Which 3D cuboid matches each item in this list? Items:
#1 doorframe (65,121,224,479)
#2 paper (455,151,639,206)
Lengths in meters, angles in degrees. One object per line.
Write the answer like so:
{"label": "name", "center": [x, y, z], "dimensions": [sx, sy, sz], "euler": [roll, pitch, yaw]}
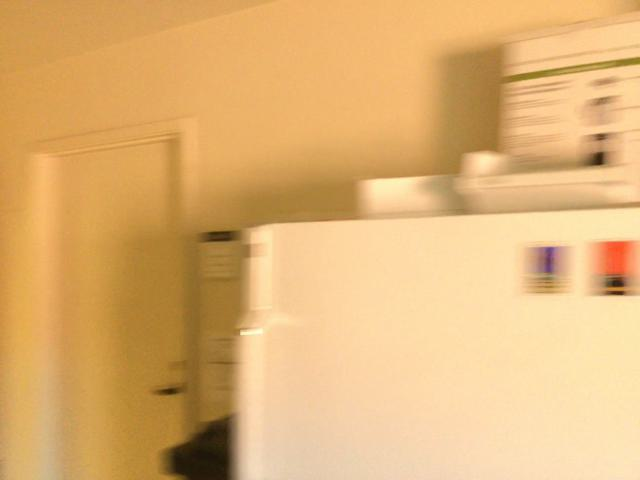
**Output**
{"label": "doorframe", "center": [-0.740, 0.530, 2.400], "dimensions": [0.760, 1.950, 0.120], "euler": [1, 3, 30]}
{"label": "paper", "center": [0.480, -0.110, 1.140], "dimensions": [0.290, 0.080, 0.340], "euler": [2, 3, 41]}
